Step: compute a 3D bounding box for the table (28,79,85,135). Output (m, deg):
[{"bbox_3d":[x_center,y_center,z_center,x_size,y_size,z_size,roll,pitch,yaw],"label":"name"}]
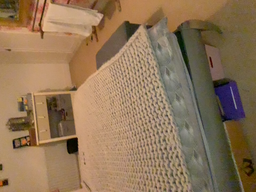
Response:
[{"bbox_3d":[-1.440,0.210,4.250,0.500,0.900,0.960,-28,70,58],"label":"table"}]
